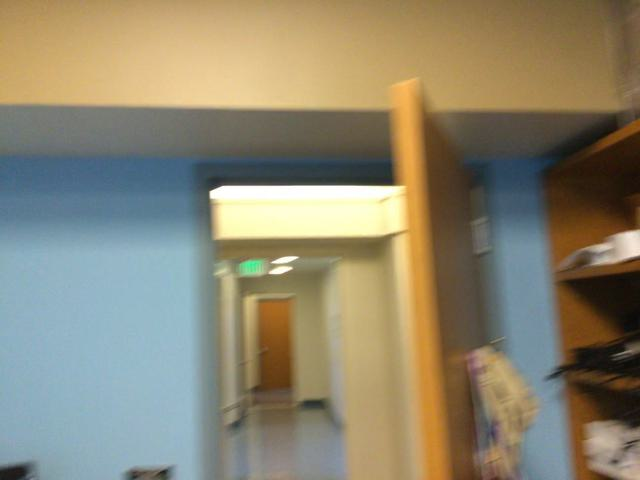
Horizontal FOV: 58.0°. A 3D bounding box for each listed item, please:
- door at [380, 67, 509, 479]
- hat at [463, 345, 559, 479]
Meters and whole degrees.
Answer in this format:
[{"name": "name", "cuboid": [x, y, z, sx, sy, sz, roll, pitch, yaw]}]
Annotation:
[{"name": "door", "cuboid": [0.330, 0.780, 1.330, 0.150, 2.090, 0.870, -3, -10, 22]}, {"name": "hat", "cuboid": [0.450, 0.440, 1.380, 0.170, 0.370, 0.130, 2, -10, -6]}]
